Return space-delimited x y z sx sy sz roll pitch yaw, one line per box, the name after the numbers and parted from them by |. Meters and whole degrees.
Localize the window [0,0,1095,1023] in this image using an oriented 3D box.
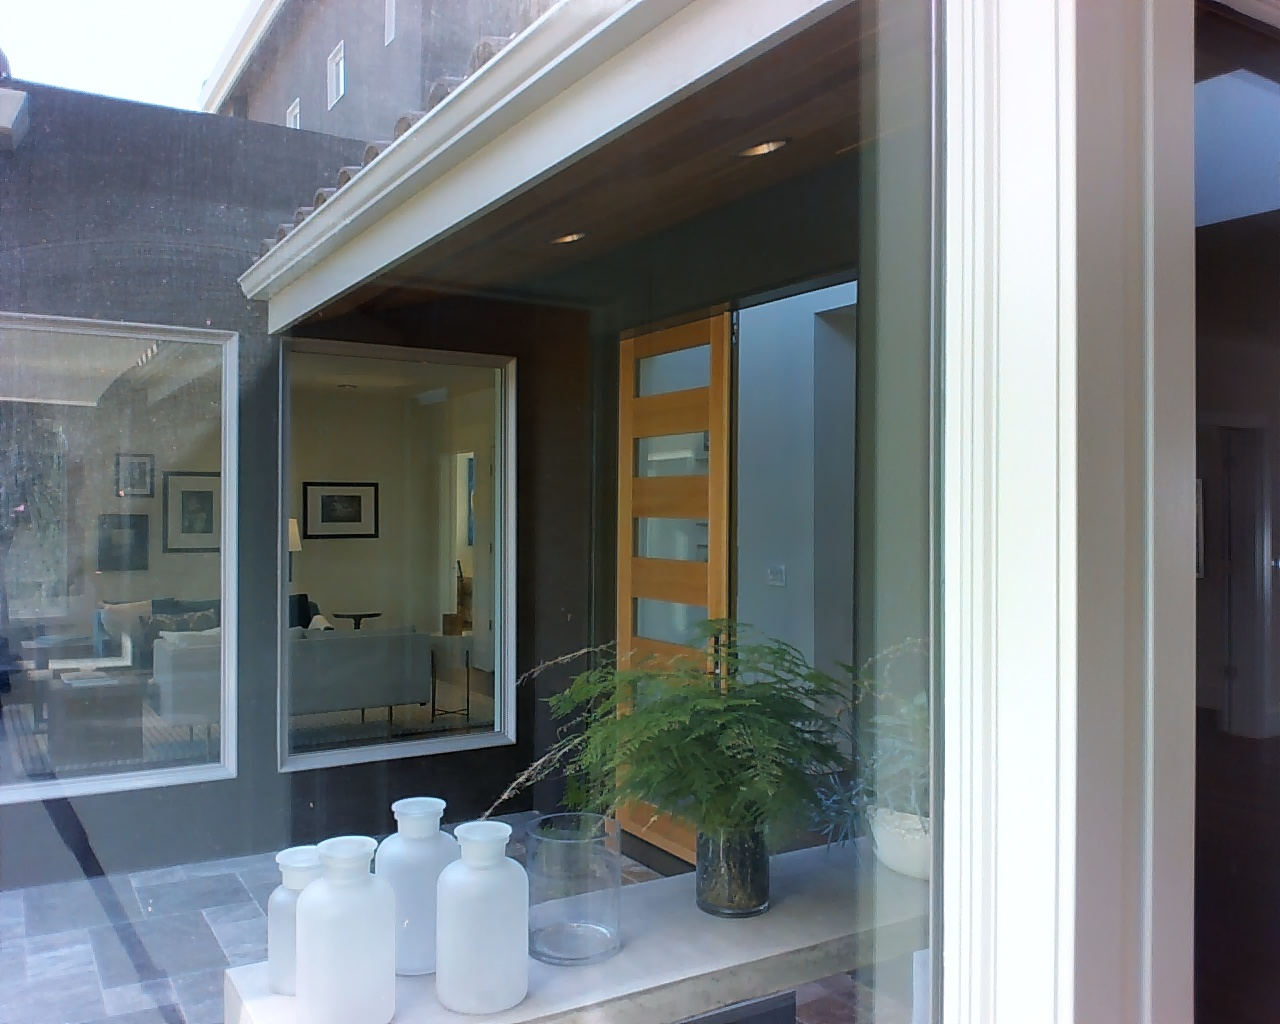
-0.070 0.170 1.000 1.300 2.030 0.190 0 0 -32 | window
